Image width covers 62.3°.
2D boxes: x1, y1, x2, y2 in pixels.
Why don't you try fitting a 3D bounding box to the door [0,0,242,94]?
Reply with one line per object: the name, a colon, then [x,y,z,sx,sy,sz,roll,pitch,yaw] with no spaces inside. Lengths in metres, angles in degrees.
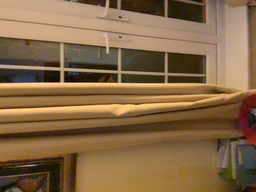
door: [-0.020,-0.400,1.340,0.080,1.960,0.760,174,95,-66]
